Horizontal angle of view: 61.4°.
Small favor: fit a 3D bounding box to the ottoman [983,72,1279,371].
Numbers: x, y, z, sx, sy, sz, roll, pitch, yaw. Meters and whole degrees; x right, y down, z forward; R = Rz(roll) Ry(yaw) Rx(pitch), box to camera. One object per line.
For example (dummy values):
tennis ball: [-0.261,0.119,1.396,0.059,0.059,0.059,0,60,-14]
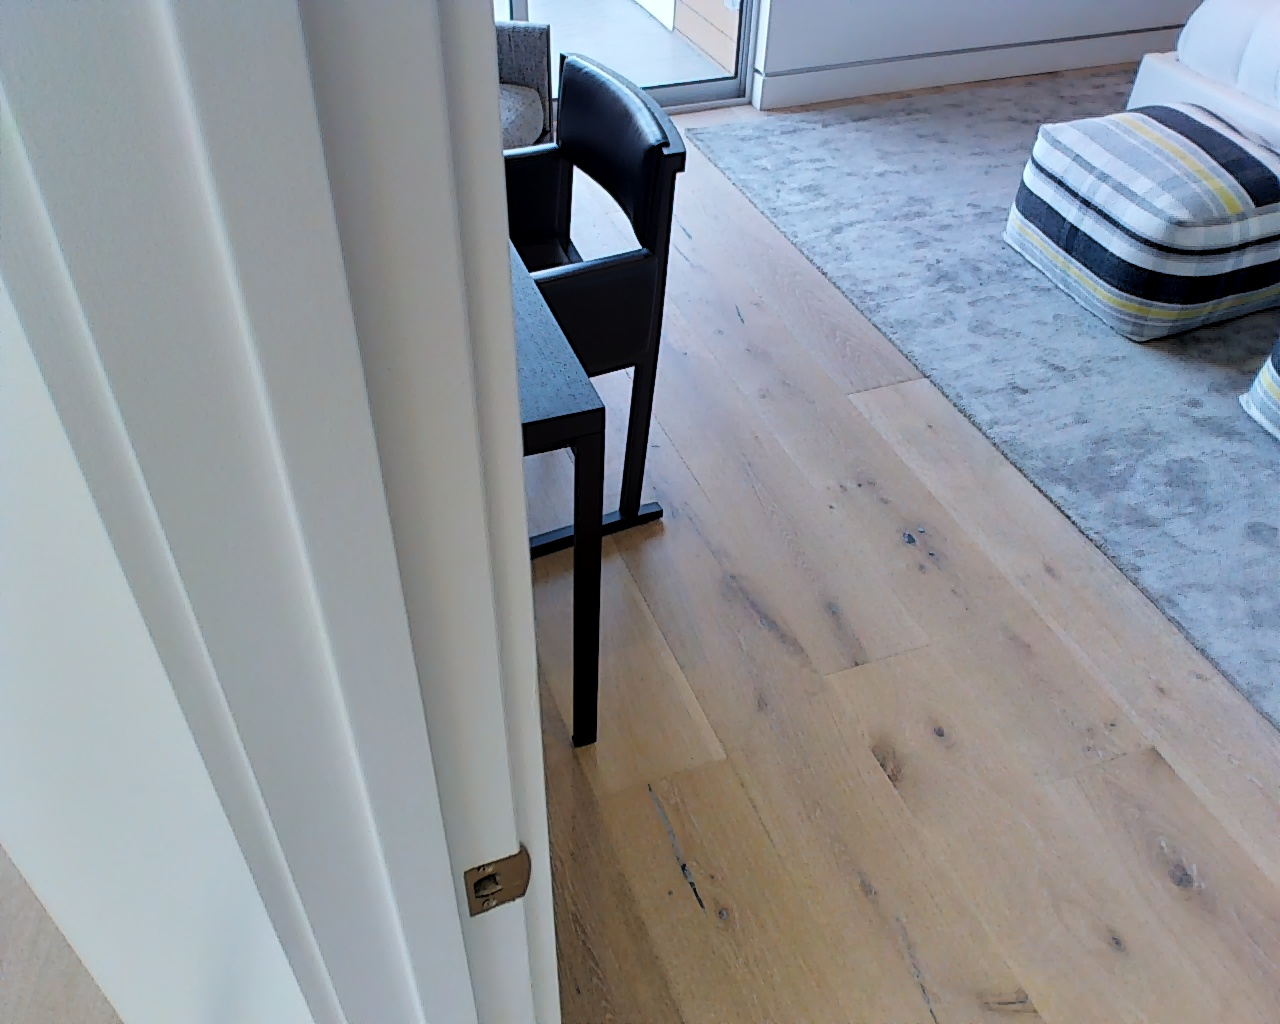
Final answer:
ottoman: [1.520,-0.840,3.020,0.720,0.460,0.690,-14,44,-17]
